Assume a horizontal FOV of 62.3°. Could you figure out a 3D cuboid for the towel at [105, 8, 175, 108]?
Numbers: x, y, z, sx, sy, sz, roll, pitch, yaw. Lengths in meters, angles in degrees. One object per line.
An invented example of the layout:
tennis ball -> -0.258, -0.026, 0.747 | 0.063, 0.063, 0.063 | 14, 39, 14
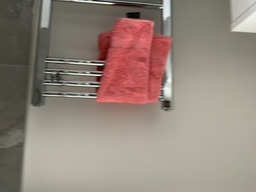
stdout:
towel -> 0.040, -0.130, 0.760 | 0.230, 0.330, 0.080 | 2, 171, -7
